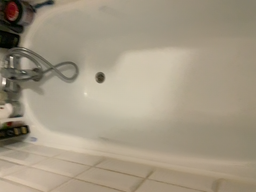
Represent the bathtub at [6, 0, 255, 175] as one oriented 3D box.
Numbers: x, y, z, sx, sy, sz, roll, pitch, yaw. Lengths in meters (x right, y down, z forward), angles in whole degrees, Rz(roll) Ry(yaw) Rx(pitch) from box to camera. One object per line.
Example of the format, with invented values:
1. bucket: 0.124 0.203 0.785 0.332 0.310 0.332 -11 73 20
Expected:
1. bathtub: 0.130 -0.130 1.020 1.400 0.540 0.670 2 94 26
